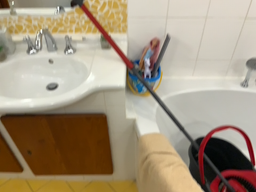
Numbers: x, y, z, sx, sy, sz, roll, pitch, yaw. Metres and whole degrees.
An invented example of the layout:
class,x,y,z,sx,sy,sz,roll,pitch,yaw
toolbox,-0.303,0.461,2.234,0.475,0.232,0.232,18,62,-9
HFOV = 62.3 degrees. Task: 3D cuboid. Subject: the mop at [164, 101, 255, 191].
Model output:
class,x,y,z,sx,sy,sz,roll,pitch,yaw
mop,0.510,0.420,1.160,0.310,0.420,0.640,-14,43,-15
